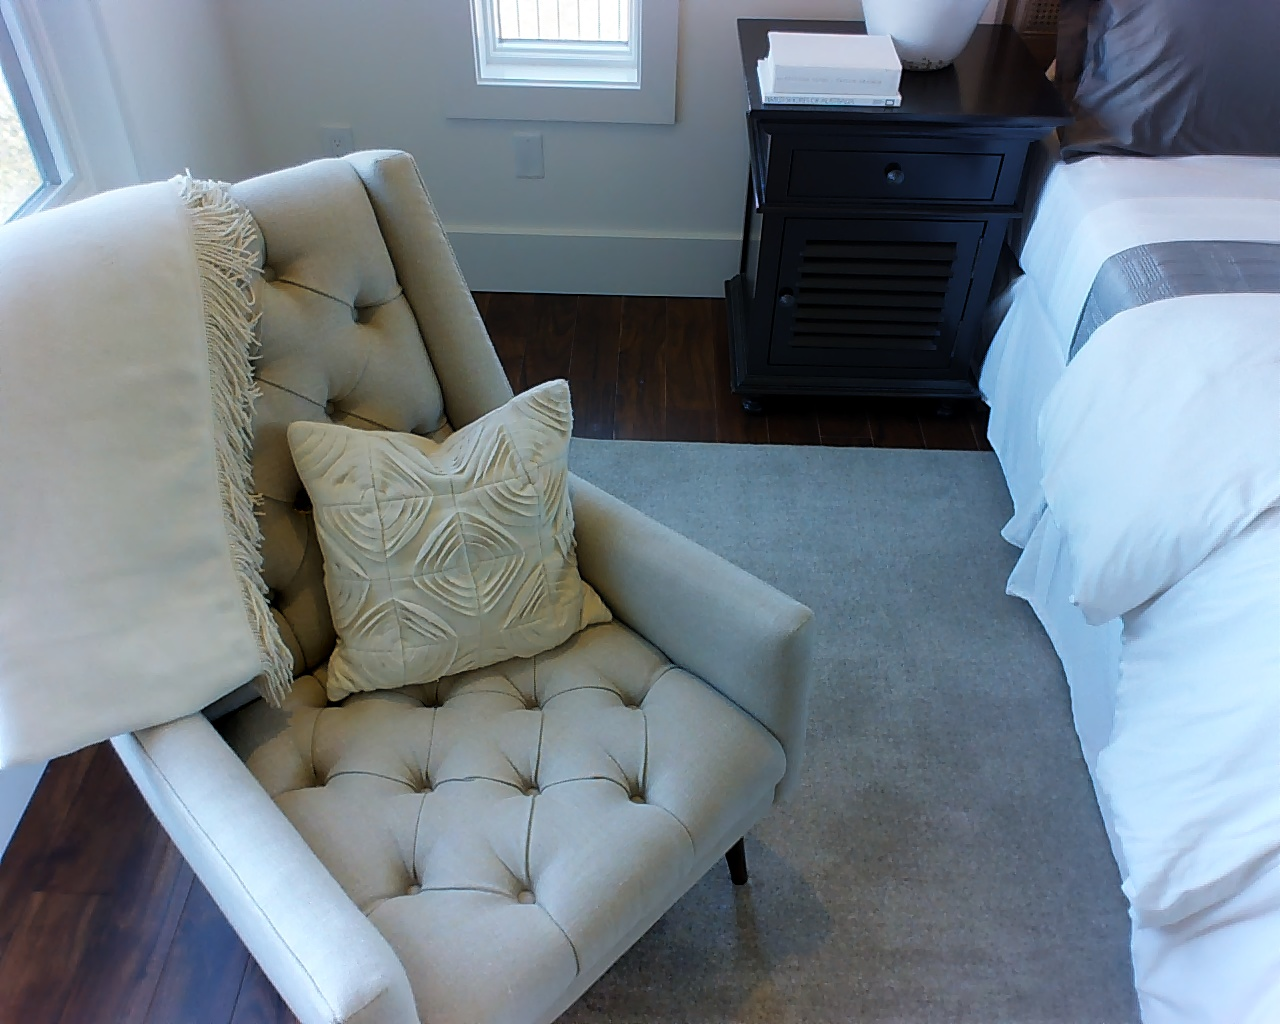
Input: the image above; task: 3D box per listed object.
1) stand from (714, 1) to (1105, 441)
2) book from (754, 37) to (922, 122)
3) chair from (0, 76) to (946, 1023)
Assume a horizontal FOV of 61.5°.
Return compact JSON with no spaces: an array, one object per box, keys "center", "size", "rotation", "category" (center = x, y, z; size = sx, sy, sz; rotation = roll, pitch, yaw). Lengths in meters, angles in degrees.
[{"center":[0.540,-0.670,2.510],"size":[0.680,0.800,0.580],"rotation":[2,42,1],"category":"stand"},{"center":[0.380,-0.850,2.110],"size":[0.290,0.080,0.220],"rotation":[0,42,0],"category":"book"},{"center":[-0.320,0.160,1.420],"size":[0.970,1.000,0.760],"rotation":[33,51,30],"category":"chair"}]
